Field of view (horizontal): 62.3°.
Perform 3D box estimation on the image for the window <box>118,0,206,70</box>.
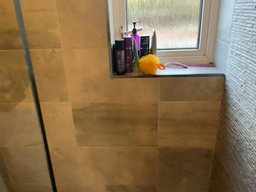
[{"bbox_3d":[0.180,-0.590,1.150,0.470,0.910,0.060,1,22,7],"label":"window"}]
